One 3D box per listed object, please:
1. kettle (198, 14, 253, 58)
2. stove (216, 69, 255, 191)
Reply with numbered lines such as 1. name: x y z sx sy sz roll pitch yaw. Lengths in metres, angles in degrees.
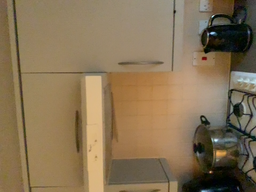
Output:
1. kettle: 0.540 -0.330 1.200 0.170 0.210 0.220 -107 17 -78
2. stove: 0.640 0.160 1.150 0.560 0.030 0.580 -109 18 -79
